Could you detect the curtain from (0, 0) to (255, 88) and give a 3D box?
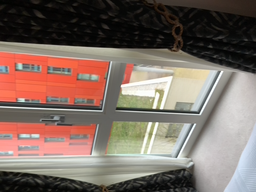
[{"bbox_3d":[-0.040,-0.380,1.110,0.240,2.490,0.460,-120,39,-59],"label":"curtain"}]
